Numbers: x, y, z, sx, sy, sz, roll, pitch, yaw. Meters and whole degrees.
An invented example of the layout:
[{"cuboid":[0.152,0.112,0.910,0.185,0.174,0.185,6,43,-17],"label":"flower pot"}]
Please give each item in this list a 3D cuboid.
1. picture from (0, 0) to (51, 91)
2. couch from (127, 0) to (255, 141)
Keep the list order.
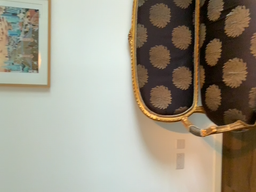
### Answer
[{"cuboid":[-0.890,-0.440,1.630,0.040,0.540,0.790,-161,73,-74],"label":"picture"},{"cuboid":[0.610,-0.520,1.650,0.800,1.010,1.530,-173,85,-75],"label":"couch"}]
